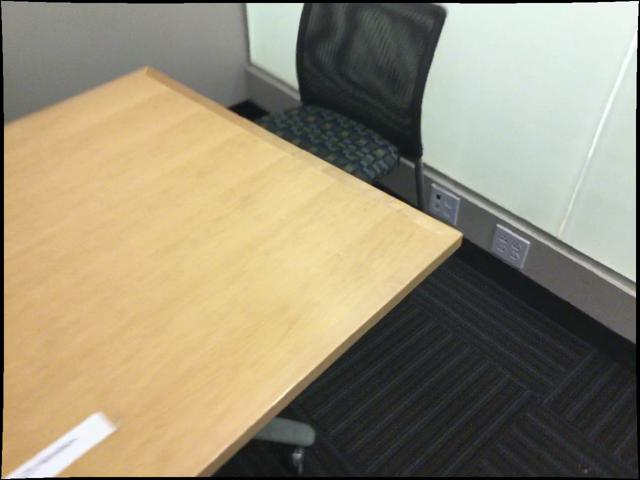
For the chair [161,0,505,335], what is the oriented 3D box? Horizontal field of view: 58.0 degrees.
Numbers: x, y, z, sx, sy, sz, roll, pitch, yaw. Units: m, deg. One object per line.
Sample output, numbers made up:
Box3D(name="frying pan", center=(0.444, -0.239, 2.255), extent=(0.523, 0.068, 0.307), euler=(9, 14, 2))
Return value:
Box3D(name="chair", center=(-0.010, -0.301, 1.710), extent=(0.609, 0.791, 0.610), euler=(-29, 58, -31))
